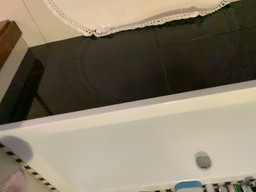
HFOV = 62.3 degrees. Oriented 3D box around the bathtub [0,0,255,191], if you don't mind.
[{"bbox_3d":[0.360,0.070,1.180,1.660,0.590,0.840,-10,136,7],"label":"bathtub"}]
